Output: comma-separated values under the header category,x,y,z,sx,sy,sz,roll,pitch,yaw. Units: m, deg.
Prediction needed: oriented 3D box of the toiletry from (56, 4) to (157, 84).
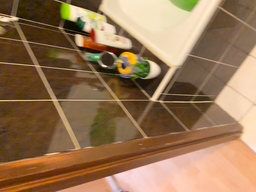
category,x,y,z,sx,sy,sz,roll,pitch,yaw
toiletry,-0.140,-0.280,1.070,0.590,0.210,0.140,45,121,38
